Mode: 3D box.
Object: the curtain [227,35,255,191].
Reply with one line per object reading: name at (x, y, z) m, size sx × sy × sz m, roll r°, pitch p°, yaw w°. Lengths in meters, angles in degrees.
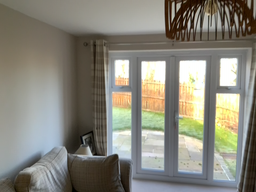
curtain at (1.610, 0.330, 2.800) m, size 0.410 × 2.180 × 0.300 m, roll 2°, pitch 5°, yaw 19°
